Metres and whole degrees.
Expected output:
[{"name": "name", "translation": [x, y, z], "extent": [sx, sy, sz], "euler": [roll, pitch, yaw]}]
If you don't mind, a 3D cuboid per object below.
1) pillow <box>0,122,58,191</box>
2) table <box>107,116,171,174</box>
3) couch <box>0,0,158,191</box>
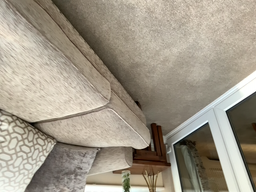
[{"name": "pillow", "translation": [-0.810, 0.450, 1.400], "extent": [0.260, 0.520, 0.550], "euler": [7, 174, 28]}, {"name": "table", "translation": [0.100, 0.590, 2.460], "extent": [0.560, 0.480, 0.440], "euler": [12, 143, -22]}, {"name": "couch", "translation": [-0.640, 0.180, 1.430], "extent": [1.140, 0.850, 1.680], "euler": [-16, 144, 18]}]
